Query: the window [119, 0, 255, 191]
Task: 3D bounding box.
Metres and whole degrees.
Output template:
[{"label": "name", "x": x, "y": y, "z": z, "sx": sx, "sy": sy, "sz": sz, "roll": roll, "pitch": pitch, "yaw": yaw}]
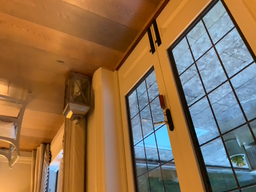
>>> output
[{"label": "window", "x": 0.370, "y": 0.190, "z": 1.420, "sx": 0.090, "sy": 2.040, "sz": 1.250, "roll": 16, "pitch": 141, "yaw": -30}]
